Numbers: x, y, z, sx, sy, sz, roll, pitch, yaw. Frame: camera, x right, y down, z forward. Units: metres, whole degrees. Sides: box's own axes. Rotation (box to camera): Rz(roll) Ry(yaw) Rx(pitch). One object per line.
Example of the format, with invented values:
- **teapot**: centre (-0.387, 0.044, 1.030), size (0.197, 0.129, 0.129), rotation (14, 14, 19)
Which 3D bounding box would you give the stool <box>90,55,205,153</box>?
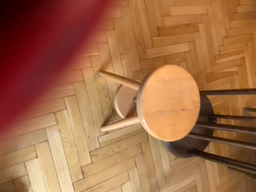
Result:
- **stool**: centre (0.060, 0.030, 1.070), size (0.330, 0.530, 0.350), rotation (1, 90, -30)
